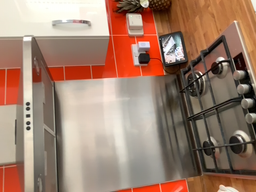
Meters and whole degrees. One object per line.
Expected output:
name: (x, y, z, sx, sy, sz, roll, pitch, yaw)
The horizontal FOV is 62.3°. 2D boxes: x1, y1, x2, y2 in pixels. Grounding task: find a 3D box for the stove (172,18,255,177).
stove: (0.380, 0.060, 0.980, 0.550, 0.040, 0.570, 121, 143, -69)
